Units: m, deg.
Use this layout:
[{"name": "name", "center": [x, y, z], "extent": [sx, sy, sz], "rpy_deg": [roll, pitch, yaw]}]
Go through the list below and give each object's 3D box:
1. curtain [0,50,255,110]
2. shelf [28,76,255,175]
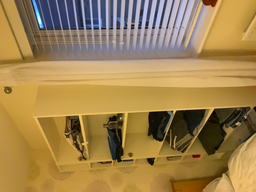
[{"name": "curtain", "center": [0.190, -0.130, 1.490], "extent": [0.280, 2.160, 0.200], "rpy_deg": [97, 168, -50]}, {"name": "shelf", "center": [0.300, 0.310, 1.970], "extent": [1.020, 2.010, 0.290], "rpy_deg": [97, 167, -50]}]
